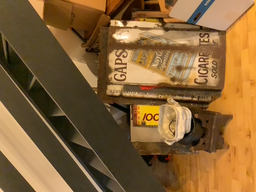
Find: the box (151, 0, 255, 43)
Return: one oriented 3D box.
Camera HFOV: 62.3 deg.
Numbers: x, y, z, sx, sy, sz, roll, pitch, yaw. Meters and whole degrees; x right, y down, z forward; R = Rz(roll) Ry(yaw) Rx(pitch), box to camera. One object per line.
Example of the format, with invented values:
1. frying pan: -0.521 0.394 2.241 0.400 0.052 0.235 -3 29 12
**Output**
1. box: 0.520 -0.760 1.550 0.450 0.520 0.470 -44 49 51
